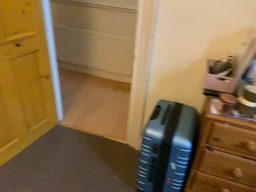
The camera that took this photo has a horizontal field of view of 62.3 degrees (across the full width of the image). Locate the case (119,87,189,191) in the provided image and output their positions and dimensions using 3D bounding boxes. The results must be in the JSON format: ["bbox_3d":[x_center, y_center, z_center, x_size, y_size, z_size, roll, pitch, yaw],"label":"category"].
[{"bbox_3d":[0.190,0.350,1.550,0.360,0.620,0.470,12,33,10],"label":"case"}]
